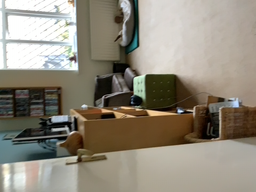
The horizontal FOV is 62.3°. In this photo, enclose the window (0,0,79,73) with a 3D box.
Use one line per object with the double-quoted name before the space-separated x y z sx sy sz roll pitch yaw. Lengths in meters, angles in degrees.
"window" -1.660 -1.230 3.760 0.370 1.450 1.610 176 91 -71
